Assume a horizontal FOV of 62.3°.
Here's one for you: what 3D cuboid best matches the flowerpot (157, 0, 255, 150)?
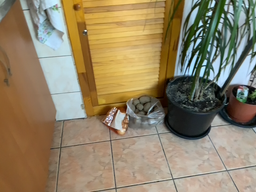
[{"bbox_3d":[0.400,-0.230,1.040,0.350,1.130,0.340,-6,42,-6],"label":"flowerpot"}]
